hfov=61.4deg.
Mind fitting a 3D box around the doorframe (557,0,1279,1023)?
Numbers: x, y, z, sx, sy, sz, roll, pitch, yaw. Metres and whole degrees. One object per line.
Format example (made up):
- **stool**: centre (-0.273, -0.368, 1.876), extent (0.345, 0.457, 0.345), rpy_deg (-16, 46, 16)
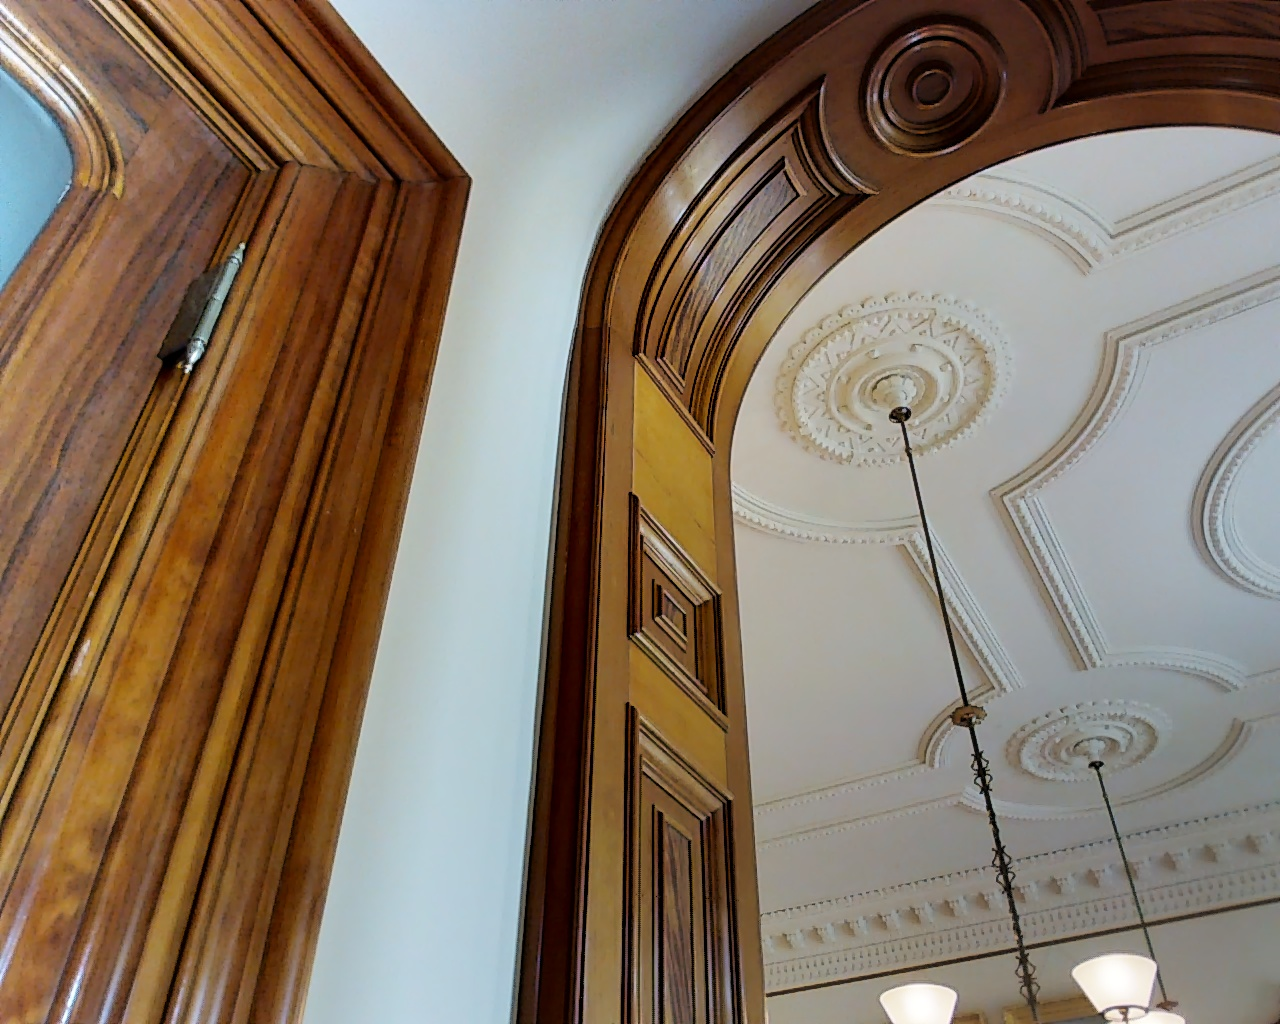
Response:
- **doorframe**: centre (0.660, 0.490, 1.190), extent (1.430, 3.921, 0.550), rpy_deg (-21, -47, 22)
